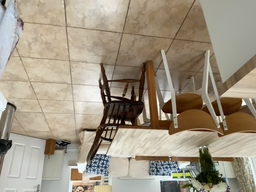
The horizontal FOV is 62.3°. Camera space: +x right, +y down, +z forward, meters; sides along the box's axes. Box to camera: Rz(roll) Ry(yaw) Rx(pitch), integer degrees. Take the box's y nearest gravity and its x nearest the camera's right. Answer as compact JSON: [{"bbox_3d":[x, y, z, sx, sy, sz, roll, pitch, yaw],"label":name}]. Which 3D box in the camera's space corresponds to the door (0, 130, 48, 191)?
[{"bbox_3d":[-1.900,1.610,3.680,0.090,1.930,0.750,-24,146,36],"label":"door"}]

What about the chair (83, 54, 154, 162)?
[{"bbox_3d":[-0.120,0.130,2.050,0.550,0.910,0.450,4,153,-11],"label":"chair"}]
